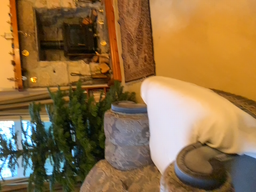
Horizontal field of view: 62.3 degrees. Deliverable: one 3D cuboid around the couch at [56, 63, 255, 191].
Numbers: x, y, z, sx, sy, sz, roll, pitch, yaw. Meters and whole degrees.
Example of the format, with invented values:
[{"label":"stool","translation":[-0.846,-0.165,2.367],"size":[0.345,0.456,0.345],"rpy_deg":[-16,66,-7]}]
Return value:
[{"label":"couch","translation":[0.130,0.410,1.190],"size":[1.140,0.910,1.040],"rpy_deg":[-144,52,-64]}]
